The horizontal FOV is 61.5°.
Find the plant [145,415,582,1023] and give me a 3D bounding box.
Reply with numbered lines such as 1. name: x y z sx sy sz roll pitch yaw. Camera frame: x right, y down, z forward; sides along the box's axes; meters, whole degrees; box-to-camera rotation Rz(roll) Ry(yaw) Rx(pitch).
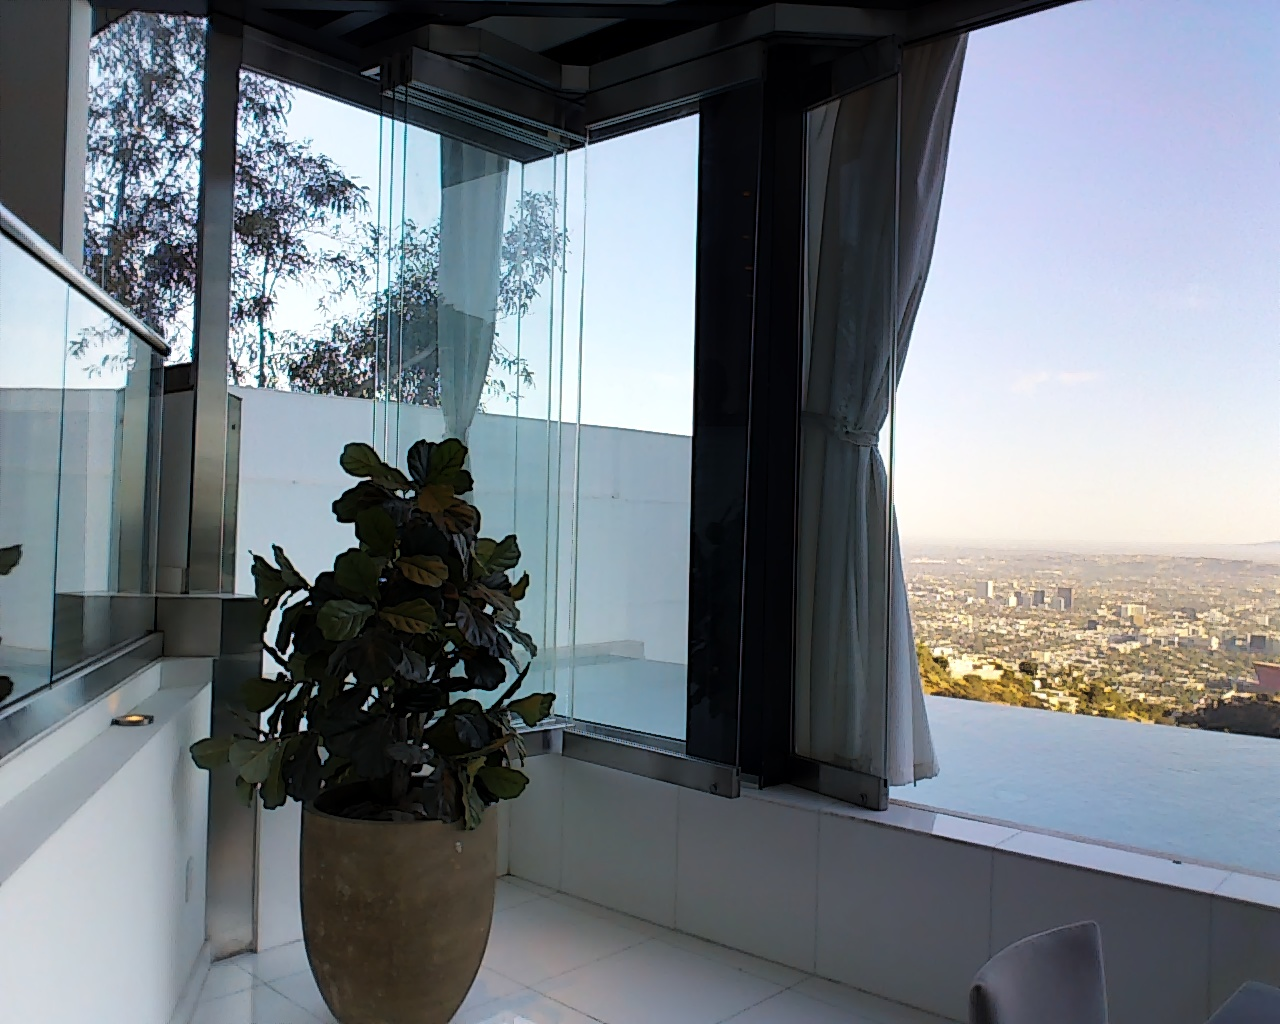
1. plant: -0.800 0.670 3.290 0.910 1.830 0.880 1 -1 23
